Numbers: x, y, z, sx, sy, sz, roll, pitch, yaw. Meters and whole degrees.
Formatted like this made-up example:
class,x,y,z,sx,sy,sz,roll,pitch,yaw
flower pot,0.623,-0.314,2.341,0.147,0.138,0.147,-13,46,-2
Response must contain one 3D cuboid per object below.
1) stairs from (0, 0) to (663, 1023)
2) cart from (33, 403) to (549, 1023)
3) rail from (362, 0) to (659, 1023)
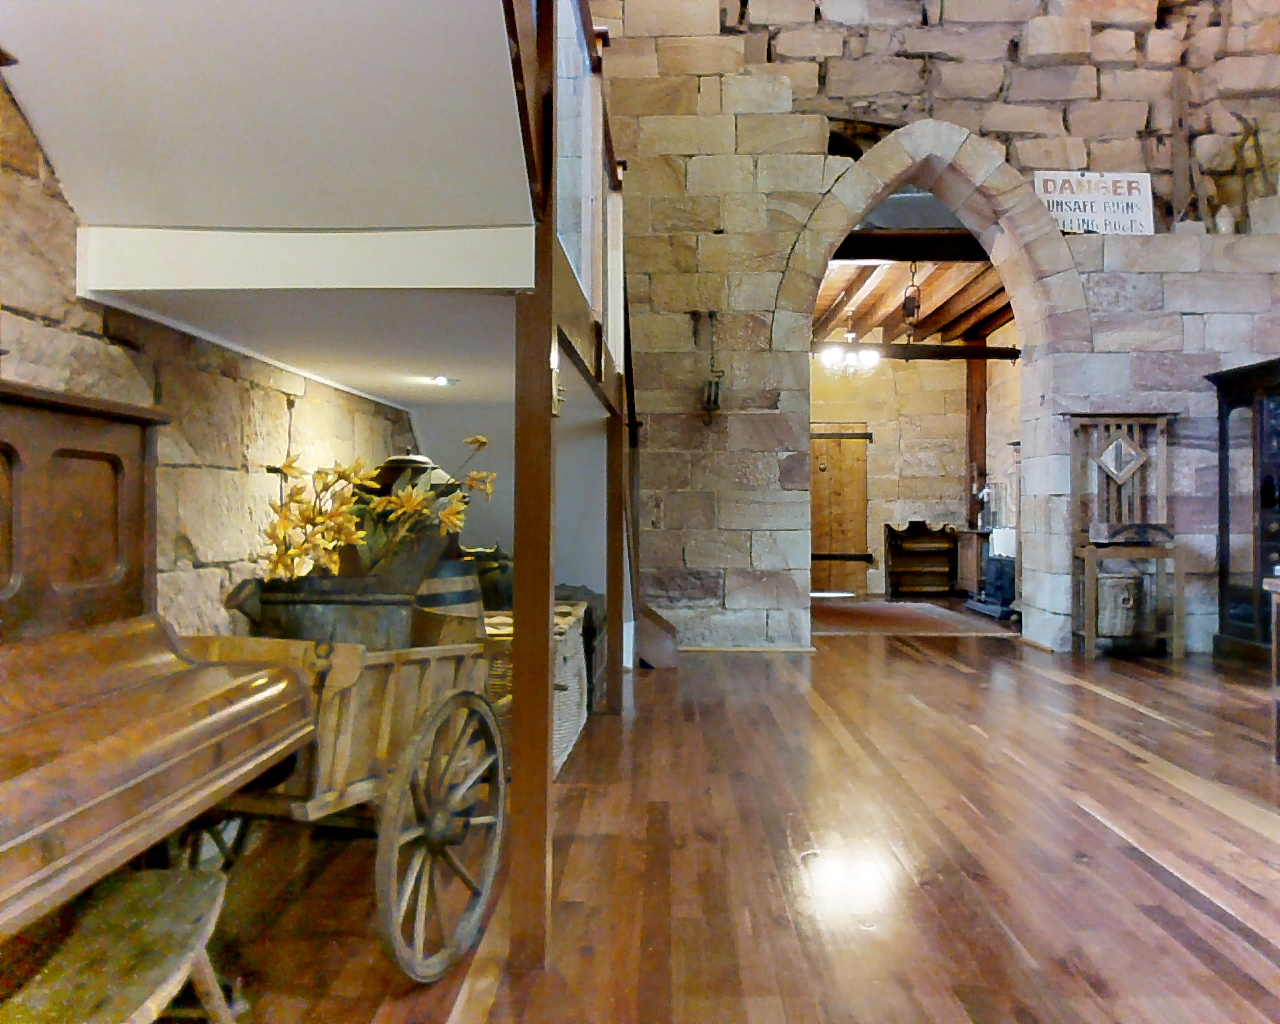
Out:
class,x,y,z,sx,sy,sz,roll,pitch,yaw
stairs,-0.630,-0.480,4.820,1.359,3.252,7.480,1,0,2
cart,-0.780,0.450,2.690,0.830,1.331,0.970,0,0,13
rail,-0.100,-0.980,4.490,0.230,3.882,6.420,1,0,2
